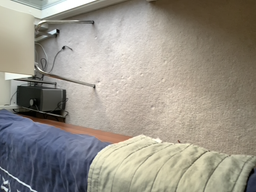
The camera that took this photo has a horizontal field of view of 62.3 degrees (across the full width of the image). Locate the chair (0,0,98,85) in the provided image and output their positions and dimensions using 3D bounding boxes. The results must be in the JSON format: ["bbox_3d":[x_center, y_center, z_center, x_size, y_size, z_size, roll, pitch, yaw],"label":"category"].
[{"bbox_3d":[-0.690,-0.340,1.380,0.510,0.860,0.500,4,93,38],"label":"chair"}]
